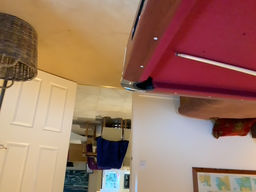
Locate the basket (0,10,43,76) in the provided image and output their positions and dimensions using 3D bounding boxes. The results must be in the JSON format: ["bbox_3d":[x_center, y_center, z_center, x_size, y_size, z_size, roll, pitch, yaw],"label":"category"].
[{"bbox_3d":[-1.020,-0.440,1.800,0.450,0.390,0.350,5,160,-10],"label":"basket"}]
